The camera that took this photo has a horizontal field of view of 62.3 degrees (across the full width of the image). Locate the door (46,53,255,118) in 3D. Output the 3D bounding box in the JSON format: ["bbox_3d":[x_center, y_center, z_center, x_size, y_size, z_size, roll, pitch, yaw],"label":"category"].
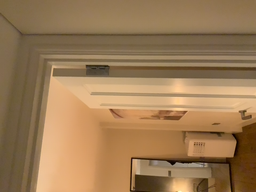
[{"bbox_3d":[0.700,0.010,1.140,0.860,1.970,0.030,81,-168,-73],"label":"door"}]
